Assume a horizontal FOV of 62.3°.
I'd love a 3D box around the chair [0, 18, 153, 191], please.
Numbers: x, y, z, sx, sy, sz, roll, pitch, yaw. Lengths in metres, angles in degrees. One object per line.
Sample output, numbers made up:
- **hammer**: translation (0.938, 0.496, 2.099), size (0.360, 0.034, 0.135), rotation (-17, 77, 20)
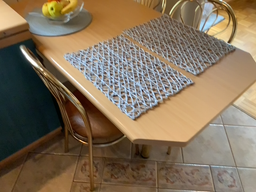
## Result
- **chair**: translation (-0.240, 0.150, 1.050), size (0.460, 0.820, 0.440), rotation (-31, 54, -28)
